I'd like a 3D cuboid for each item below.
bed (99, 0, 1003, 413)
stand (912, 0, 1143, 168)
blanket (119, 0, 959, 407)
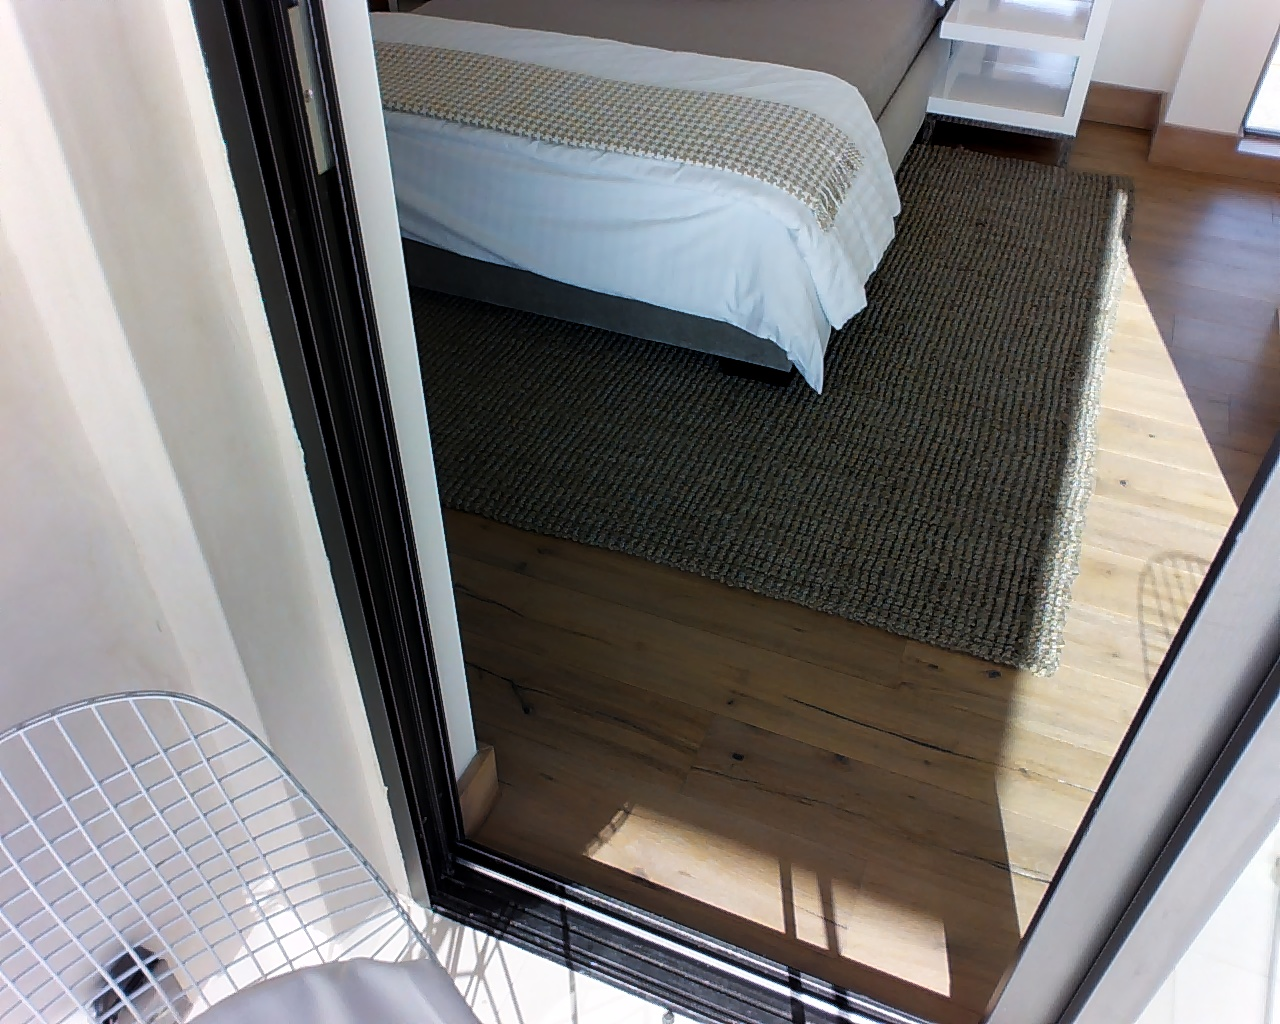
[{"bbox_3d":[0.000,-1.700,3.280,1.980,1.310,2.340,16,43,16],"label":"bed"},{"bbox_3d":[1.400,-1.720,3.800,0.630,0.690,0.620,16,43,16],"label":"stand"},{"bbox_3d":[-0.280,-0.990,3.010,2.060,0.550,0.820,17,44,18],"label":"blanket"}]
